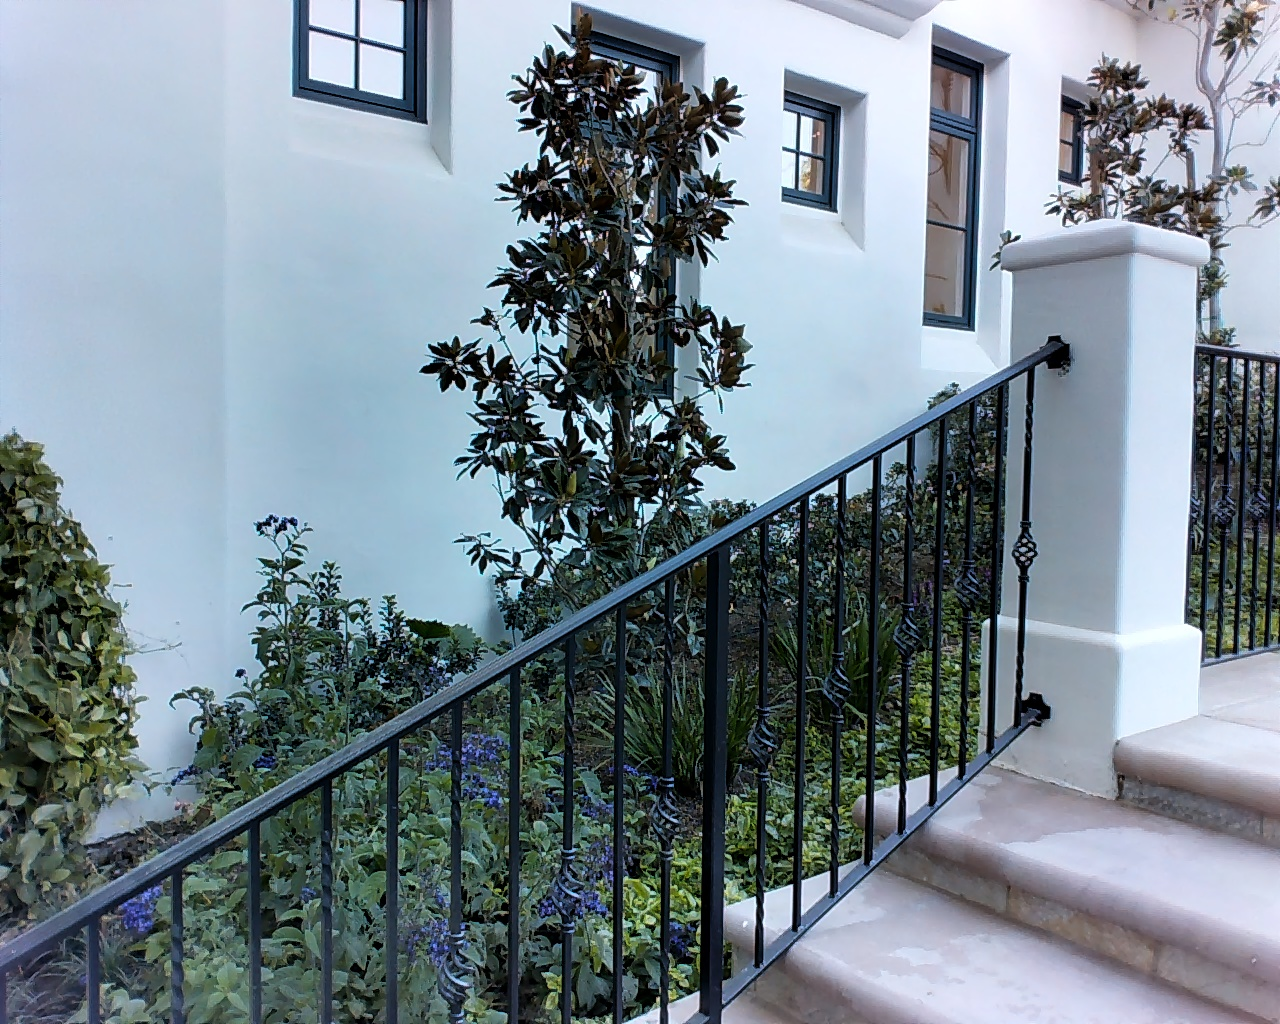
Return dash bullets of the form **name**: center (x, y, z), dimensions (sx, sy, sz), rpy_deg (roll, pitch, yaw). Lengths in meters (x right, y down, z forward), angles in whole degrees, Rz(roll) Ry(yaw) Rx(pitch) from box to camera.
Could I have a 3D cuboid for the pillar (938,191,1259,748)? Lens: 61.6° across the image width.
- **pillar**: center (1.130, -0.100, 2.680), dimensions (0.460, 1.210, 0.530), rpy_deg (-1, 3, -37)
